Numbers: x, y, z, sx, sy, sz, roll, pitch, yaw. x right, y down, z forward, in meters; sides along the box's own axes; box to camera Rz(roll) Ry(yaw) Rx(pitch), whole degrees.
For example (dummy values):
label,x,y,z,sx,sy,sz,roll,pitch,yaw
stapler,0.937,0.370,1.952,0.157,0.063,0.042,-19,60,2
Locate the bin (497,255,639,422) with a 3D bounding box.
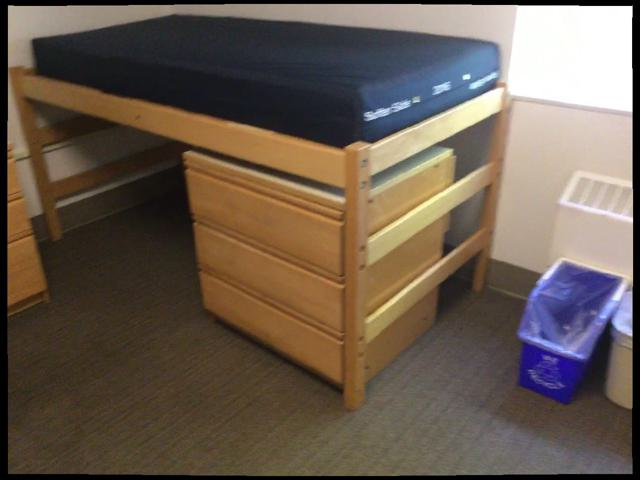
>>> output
label,x,y,z,sx,sy,sz,roll,pitch,yaw
bin,0.888,0.331,2.060,0.290,0.341,0.430,22,37,37
